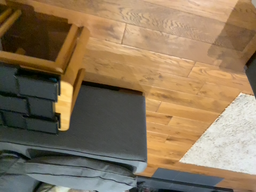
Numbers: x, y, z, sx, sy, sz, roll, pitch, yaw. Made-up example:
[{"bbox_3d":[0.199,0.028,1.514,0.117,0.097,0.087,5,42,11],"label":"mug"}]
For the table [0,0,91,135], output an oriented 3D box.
[{"bbox_3d":[-0.550,-0.170,1.230,0.520,0.530,0.460,12,135,-8],"label":"table"}]
